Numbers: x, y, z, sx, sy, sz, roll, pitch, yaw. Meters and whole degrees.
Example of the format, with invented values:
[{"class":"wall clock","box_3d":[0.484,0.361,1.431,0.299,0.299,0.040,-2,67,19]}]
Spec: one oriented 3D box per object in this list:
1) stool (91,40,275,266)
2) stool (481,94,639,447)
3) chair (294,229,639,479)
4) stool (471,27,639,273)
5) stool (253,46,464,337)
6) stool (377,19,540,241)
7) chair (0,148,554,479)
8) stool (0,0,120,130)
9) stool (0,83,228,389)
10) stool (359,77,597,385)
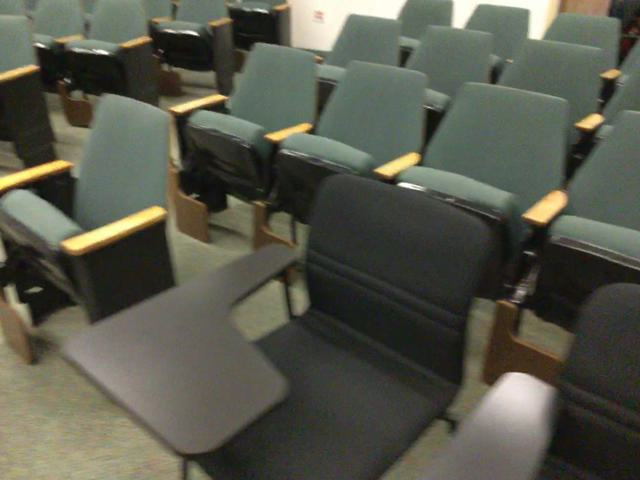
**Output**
[{"class":"stool","box_3d":[-0.580,-0.420,2.630,0.470,0.840,0.530,15,31,29]},{"class":"stool","box_3d":[0.920,0.070,1.700,0.620,0.810,0.560,17,33,33]},{"class":"chair","box_3d":[0.430,0.380,0.850,0.700,0.460,0.590,16,32,31]},{"class":"stool","box_3d":[1.070,-0.420,2.510,0.600,0.880,0.470,16,32,31]},{"class":"stool","box_3d":[0.160,-0.220,2.200,0.470,0.880,0.600,18,33,34]},{"class":"stool","box_3d":[0.640,-0.550,2.760,0.530,0.880,0.520,16,32,31]},{"class":"chair","box_3d":[-0.070,0.210,1.160,0.720,0.490,0.730,21,35,37]},{"class":"stool","box_3d":[-1.830,-1.230,3.720,0.670,0.870,0.640,3,27,10]},{"class":"stool","box_3d":[-0.770,-0.080,1.780,0.700,0.620,0.580,17,32,32]},{"class":"stool","box_3d":[0.510,-0.070,1.980,0.560,0.820,0.510,17,32,32]}]
